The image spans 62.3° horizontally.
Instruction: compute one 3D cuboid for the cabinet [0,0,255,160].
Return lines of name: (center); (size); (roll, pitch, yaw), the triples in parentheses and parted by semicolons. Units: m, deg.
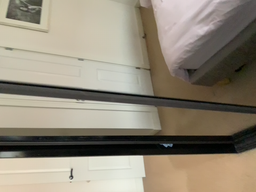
cabinet: (0.160, -0.480, 0.430); (2.190, 2.330, 0.690); (129, 140, -53)
